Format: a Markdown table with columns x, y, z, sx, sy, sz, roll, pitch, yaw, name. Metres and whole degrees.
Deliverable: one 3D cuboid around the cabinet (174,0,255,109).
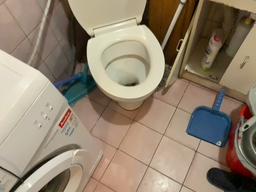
| x | y | z | sx | sy | sz | roll | pitch | yaw | name |
| --- | --- | --- | --- | --- | --- | --- | --- | --- | --- |
| 0.580 | -0.310 | 1.110 | 0.490 | 0.720 | 0.320 | 25 | 67 | 16 | cabinet |
